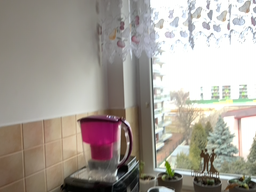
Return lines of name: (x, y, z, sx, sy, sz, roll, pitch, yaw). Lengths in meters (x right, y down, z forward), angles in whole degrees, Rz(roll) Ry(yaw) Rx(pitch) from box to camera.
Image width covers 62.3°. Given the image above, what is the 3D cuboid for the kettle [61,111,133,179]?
kettle: (-0.140, 0.210, 1.020, 0.240, 0.250, 0.240, -2, 1, 27)
